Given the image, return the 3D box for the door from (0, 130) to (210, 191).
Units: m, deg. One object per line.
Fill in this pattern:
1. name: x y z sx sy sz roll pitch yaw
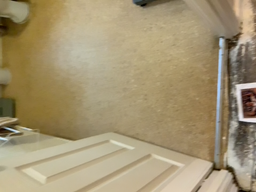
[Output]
1. door: -0.400 0.330 0.550 0.750 1.950 0.040 7 95 33
